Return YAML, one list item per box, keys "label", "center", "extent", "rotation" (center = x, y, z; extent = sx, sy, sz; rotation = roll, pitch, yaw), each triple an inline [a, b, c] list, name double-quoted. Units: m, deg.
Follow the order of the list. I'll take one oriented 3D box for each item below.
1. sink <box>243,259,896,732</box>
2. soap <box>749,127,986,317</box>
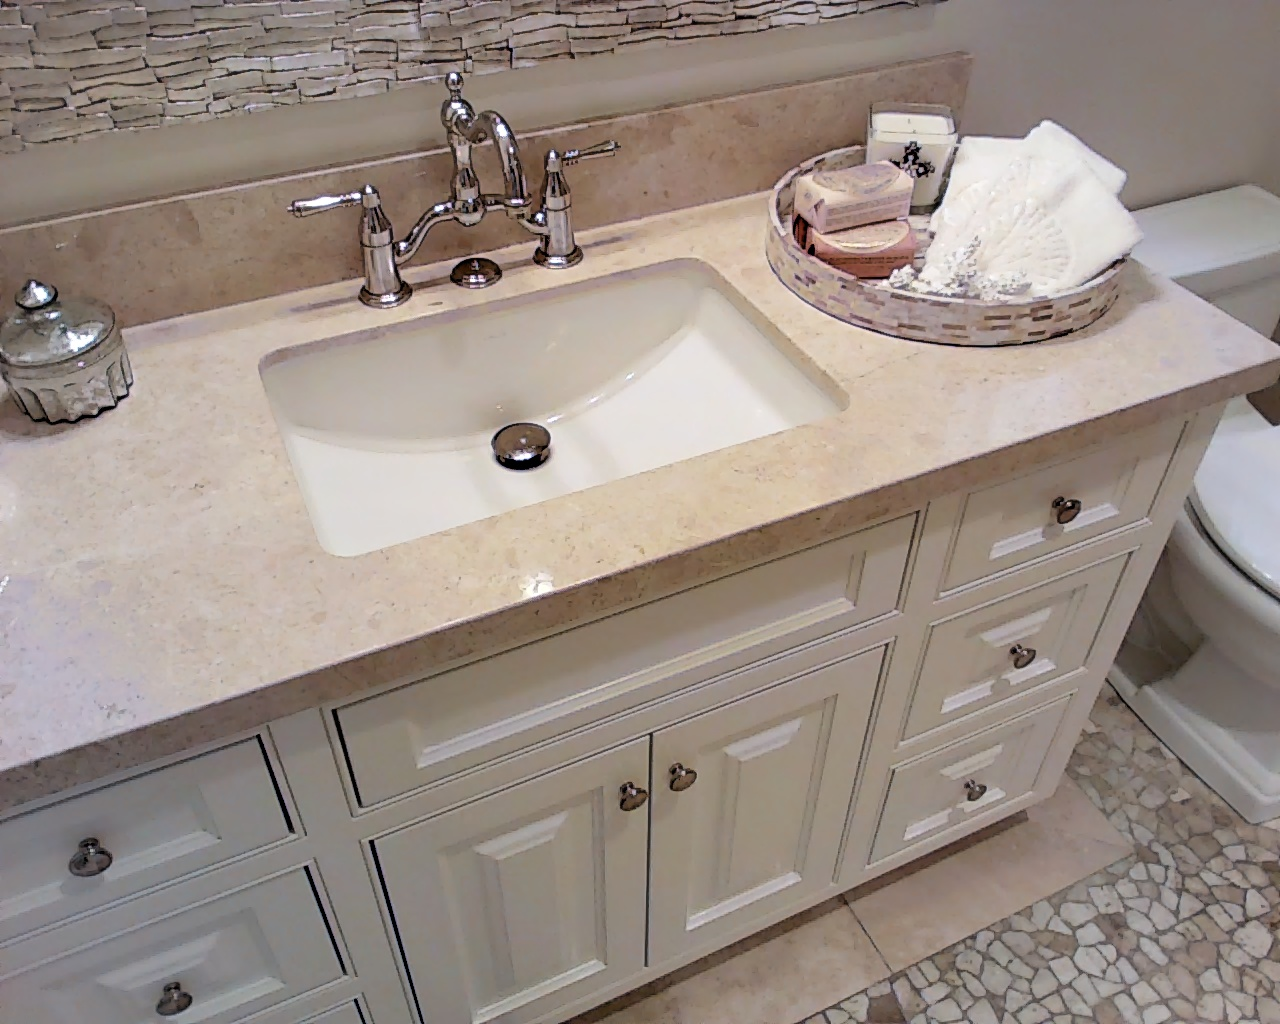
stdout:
- label: "sink"
  center: [-0.080, -0.050, 1.130]
  extent: [0.560, 0.190, 0.350]
  rotation: [-17, 43, -18]
- label: "soap"
  center: [0.250, -0.330, 1.200]
  extent: [0.190, 0.110, 0.160]
  rotation: [31, 50, 31]
